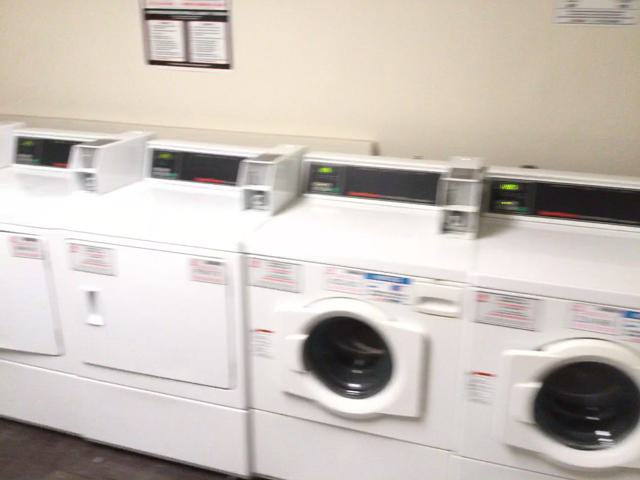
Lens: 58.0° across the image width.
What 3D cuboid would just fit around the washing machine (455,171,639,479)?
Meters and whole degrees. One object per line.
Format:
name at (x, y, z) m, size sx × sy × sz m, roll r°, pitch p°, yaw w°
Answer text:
washing machine at (0.830, 0.340, 1.900) m, size 0.650 × 1.020 × 0.760 m, roll 3°, pitch 16°, yaw 20°

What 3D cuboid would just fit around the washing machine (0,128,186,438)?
washing machine at (-1.110, 0.110, 2.420) m, size 0.690 × 1.060 × 0.730 m, roll 2°, pitch 16°, yaw 17°

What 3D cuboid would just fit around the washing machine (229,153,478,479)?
washing machine at (0.190, 0.260, 2.080) m, size 0.670 × 1.040 × 0.750 m, roll 2°, pitch 16°, yaw 18°

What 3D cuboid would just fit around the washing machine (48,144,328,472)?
washing machine at (-0.430, 0.190, 2.250) m, size 0.710 × 1.030 × 0.690 m, roll 2°, pitch 16°, yaw 17°
